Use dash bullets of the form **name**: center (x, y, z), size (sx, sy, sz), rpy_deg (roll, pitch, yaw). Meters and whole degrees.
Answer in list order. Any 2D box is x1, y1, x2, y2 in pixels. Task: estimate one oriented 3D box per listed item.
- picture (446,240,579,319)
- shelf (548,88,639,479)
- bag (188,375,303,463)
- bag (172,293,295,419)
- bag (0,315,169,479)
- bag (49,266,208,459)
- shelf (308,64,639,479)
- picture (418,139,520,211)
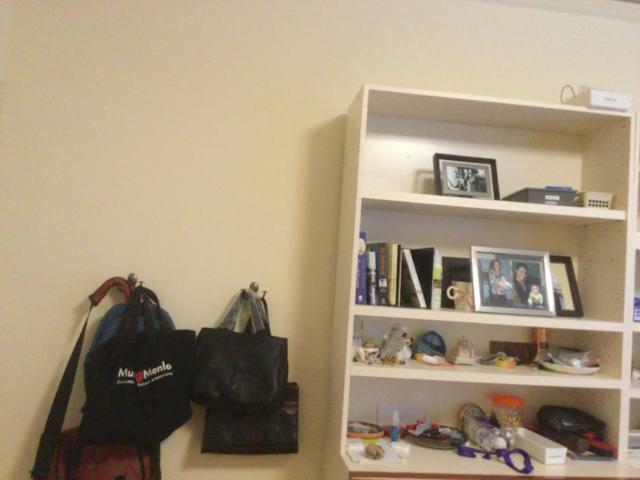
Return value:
- **picture**: center (0.620, 0.130, 1.900), size (0.320, 0.220, 0.270), rpy_deg (5, -4, -7)
- **shelf**: center (1.130, 0.280, 1.960), size (0.520, 1.460, 0.340), rpy_deg (5, -4, -7)
- **bag**: center (-0.240, 0.580, 1.880), size (0.340, 0.240, 0.120), rpy_deg (5, -4, -7)
- **bag**: center (-0.270, 0.360, 1.840), size (0.340, 0.350, 0.210), rpy_deg (5, -4, -7)
- **bag**: center (-0.710, 0.560, 1.760), size (0.410, 0.620, 0.230), rpy_deg (5, -4, -7)
- **bag**: center (-0.570, 0.360, 1.790), size (0.380, 0.530, 0.260), rpy_deg (5, -4, -7)
- **shelf**: center (0.490, 0.130, 1.880), size (0.940, 1.190, 0.370), rpy_deg (5, -4, -7)
- **picture**: center (0.490, -0.210, 1.930), size (0.260, 0.180, 0.220), rpy_deg (5, -4, -7)
